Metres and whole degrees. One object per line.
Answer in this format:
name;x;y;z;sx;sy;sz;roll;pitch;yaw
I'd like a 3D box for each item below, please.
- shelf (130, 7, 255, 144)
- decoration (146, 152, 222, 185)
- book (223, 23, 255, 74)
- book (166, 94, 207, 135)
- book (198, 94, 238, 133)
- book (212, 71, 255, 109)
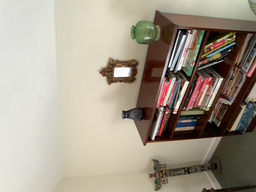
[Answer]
shelf;0.640;-0.110;1.660;0.350;1.070;0.930;-110;24;-52
decoration;0.630;0.810;2.400;0.190;0.790;0.250;114;151;-58
book;0.900;-0.350;1.580;0.210;0.180;0.310;-112;26;-54
book;0.480;0.150;1.790;0.270;0.180;0.220;-110;24;-51
book;0.780;0.150;1.870;0.230;0.160;0.250;-110;24;-52
book;0.850;-0.050;1.710;0.200;0.180;0.230;-110;24;-51
